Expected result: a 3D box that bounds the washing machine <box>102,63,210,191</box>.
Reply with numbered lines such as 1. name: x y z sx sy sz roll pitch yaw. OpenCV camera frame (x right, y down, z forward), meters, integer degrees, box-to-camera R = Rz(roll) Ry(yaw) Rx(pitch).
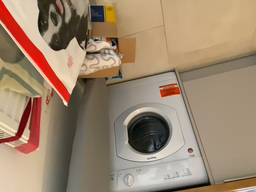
1. washing machine: 0.200 0.340 1.700 0.580 0.840 0.690 -13 145 8
